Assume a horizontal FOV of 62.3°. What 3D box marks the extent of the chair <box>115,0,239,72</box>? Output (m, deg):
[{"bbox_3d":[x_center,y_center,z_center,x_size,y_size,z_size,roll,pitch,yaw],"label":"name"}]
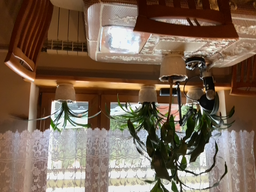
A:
[{"bbox_3d":[0.170,-0.660,1.050,0.410,0.970,0.470,2,171,-8],"label":"chair"}]
